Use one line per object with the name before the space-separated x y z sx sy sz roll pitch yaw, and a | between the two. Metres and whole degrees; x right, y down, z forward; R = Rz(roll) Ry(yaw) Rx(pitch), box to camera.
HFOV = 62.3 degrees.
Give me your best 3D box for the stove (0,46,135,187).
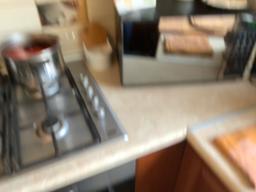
stove | -0.360 0.020 0.710 0.580 0.060 0.560 -15 40 -19
